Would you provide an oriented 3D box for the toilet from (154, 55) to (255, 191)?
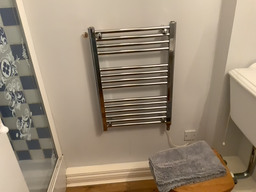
[{"bbox_3d":[0.500,0.350,1.220,0.610,1.000,0.530,-4,29,-2],"label":"toilet"}]
